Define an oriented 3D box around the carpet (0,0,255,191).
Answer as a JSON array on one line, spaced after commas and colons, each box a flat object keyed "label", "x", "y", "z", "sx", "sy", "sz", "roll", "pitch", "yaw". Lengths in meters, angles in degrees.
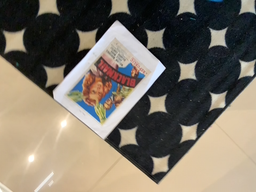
[{"label": "carpet", "x": -0.130, "y": -0.340, "z": 0.610, "sx": 1.280, "sy": 0.060, "sz": 0.760, "roll": 41, "pitch": 91, "yaw": -11}]
